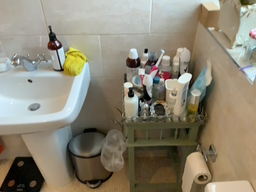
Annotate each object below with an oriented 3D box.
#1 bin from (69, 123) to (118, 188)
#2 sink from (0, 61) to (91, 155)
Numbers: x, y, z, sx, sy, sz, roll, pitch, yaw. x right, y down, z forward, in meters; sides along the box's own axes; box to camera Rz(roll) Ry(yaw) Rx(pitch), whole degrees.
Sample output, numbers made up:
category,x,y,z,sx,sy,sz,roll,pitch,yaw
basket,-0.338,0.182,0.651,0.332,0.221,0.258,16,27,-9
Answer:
category,x,y,z,sx,sy,sz,roll,pitch,yaw
bin,-0.210,0.400,1.430,0.270,0.330,0.270,-1,38,-2
sink,-0.490,0.030,1.010,0.560,0.180,0.460,-2,38,-2
